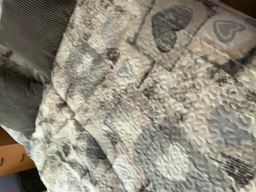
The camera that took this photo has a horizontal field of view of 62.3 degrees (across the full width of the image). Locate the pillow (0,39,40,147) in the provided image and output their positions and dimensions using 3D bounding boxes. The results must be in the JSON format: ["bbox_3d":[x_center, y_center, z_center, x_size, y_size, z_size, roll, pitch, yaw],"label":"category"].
[{"bbox_3d":[-0.790,-0.030,1.380,0.190,0.430,0.530,20,115,-20],"label":"pillow"}]
